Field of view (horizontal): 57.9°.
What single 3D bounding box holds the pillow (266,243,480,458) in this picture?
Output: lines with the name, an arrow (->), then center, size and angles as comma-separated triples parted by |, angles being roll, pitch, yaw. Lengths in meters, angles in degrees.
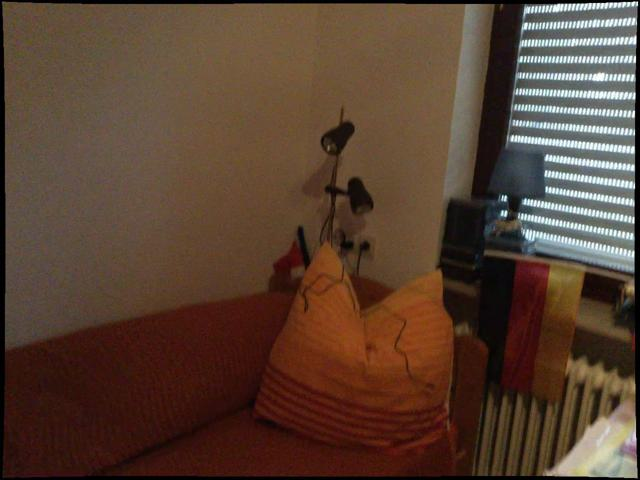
pillow -> 0.160, 0.300, 1.830 | 0.500, 0.440, 0.430 | 12, 17, 40
